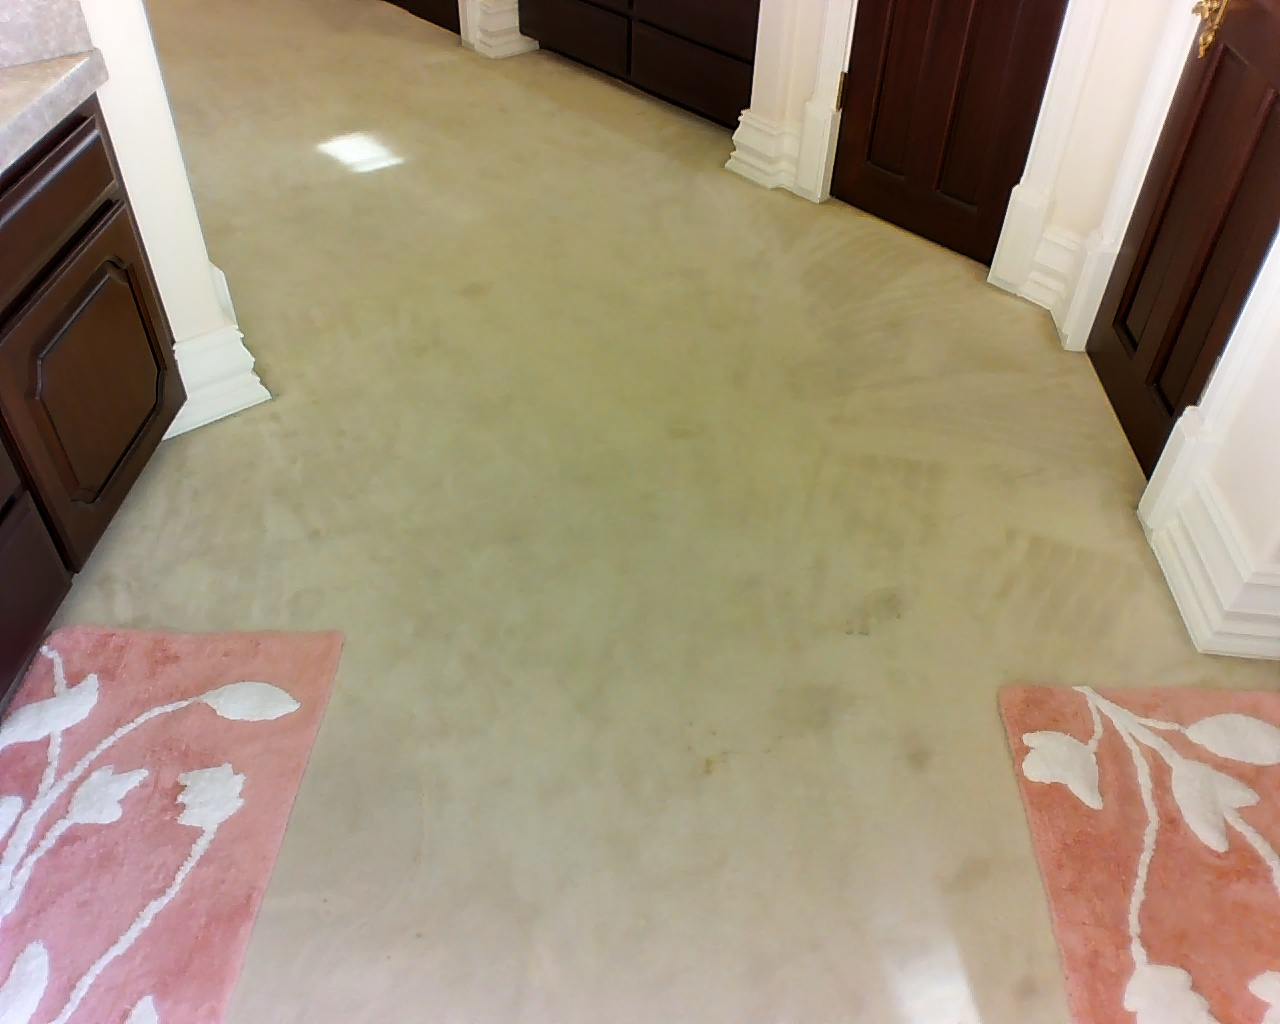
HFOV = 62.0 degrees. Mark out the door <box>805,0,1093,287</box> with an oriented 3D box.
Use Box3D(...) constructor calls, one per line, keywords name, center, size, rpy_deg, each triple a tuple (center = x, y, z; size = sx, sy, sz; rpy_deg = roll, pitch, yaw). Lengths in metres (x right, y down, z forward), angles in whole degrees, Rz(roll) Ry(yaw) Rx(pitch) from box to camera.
Box3D(name="door", center=(0.790, -1.690, 2.300), size=(0.080, 2.380, 0.690), rpy_deg=(-30, 50, -31))
